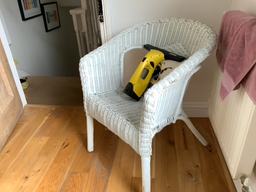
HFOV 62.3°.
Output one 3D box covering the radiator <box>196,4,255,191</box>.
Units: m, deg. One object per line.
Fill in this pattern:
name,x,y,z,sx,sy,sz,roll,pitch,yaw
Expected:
radiator,0.480,0.010,1.050,0.120,0.780,0.660,3,31,10
